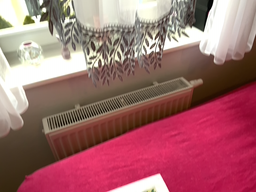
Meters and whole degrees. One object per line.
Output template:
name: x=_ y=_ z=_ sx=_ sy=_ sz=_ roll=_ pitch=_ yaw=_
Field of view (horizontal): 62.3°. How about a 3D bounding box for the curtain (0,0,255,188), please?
curtain: x=-0.100 y=-0.640 z=0.450 sx=1.610 sy=2.000 sz=0.320 roll=-17 pitch=43 yaw=-17
